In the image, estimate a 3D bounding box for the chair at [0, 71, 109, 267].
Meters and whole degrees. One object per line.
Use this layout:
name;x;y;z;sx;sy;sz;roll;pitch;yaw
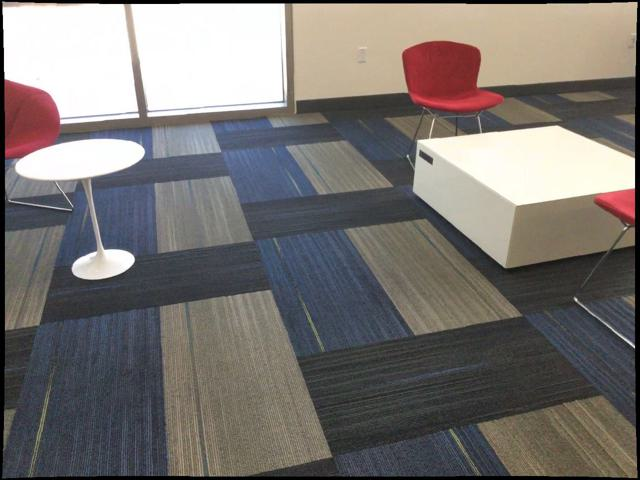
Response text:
chair;-1.735;-0.391;2.910;0.849;0.711;0.780;15;33;27

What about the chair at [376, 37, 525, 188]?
chair;0.758;-0.812;3.570;0.619;0.711;0.640;-8;30;-13

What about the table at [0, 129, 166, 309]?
table;-1.017;-0.120;2.560;0.569;0.541;0.570;-7;29;-11

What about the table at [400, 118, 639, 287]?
table;1.087;-0.261;2.970;0.988;0.361;1.010;-10;30;-15
